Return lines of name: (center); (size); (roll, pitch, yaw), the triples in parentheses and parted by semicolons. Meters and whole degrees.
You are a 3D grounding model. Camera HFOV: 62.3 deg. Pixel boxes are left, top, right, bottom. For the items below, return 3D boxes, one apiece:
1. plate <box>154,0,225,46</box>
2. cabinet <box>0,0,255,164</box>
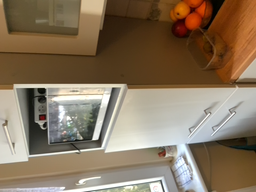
plate: (0.280, -0.400, 1.030); (0.220, 0.200, 0.200); (110, 152, -46)
cabinet: (0.110, -0.060, 1.170); (0.530, 2.130, 0.510); (111, 152, -47)
